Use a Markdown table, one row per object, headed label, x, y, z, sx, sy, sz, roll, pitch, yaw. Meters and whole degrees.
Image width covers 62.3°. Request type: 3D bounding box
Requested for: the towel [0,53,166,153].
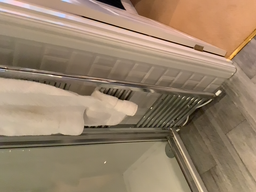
| label | x | y | z | sx | sy | sz | roll | pitch | yaw |
| --- | --- | --- | --- | --- | --- | --- | --- | --- | --- |
| towel | -0.340 | 0.060 | 0.920 | 0.410 | 0.950 | 0.180 | -53 | 45 | 40 |
